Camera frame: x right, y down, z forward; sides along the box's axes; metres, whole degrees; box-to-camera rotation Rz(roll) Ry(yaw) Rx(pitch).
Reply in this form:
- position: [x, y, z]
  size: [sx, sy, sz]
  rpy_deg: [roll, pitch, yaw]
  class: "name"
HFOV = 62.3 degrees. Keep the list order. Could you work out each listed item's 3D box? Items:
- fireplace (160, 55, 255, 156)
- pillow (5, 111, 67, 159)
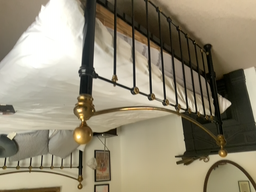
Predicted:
- position: [1.130, 0.220, 2.790]
  size: [1.280, 1.000, 0.460]
  rpy_deg: [-19, 154, 40]
  class: "fireplace"
- position: [-1.080, 0.480, 2.520]
  size: [0.480, 0.180, 0.480]
  rpy_deg: [-42, 132, 14]
  class: "pillow"
